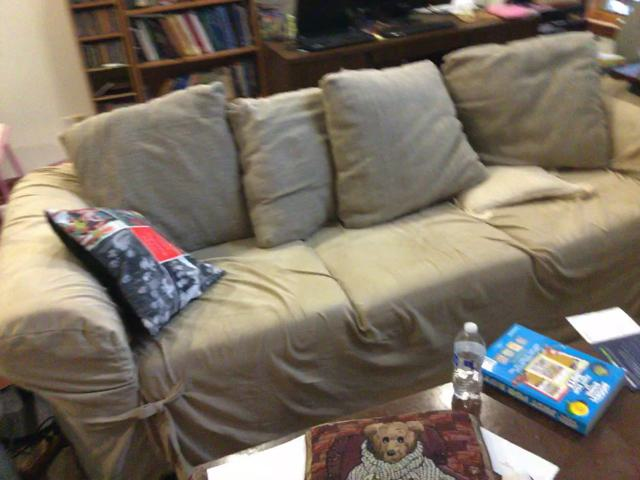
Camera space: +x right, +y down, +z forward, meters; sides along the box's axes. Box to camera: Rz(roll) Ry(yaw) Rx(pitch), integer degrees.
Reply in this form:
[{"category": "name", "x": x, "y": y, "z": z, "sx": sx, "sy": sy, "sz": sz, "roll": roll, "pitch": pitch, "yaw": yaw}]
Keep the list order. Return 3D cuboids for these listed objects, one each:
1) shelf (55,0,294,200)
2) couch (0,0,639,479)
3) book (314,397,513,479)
[{"category": "shelf", "x": -0.750, "y": -0.970, "z": 3.110, "sx": 1.030, "sy": 1.290, "sz": 0.300, "roll": -15, "pitch": 31, "yaw": -14}, {"category": "couch", "x": 0.250, "y": -0.040, "z": 1.830, "sx": 2.420, "sy": 0.940, "sz": 1.090, "roll": -15, "pitch": 31, "yaw": -14}, {"category": "book", "x": 0.170, "y": 0.470, "z": 1.040, "sx": 0.350, "sy": 0.070, "sz": 0.400, "roll": -6, "pitch": 30, "yaw": 2}]
